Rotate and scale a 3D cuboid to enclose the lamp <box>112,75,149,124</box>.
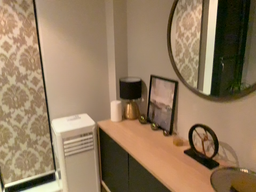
[{"bbox_3d":[0.020,0.020,2.040,0.210,0.380,0.300,-10,18,-32],"label":"lamp"}]
